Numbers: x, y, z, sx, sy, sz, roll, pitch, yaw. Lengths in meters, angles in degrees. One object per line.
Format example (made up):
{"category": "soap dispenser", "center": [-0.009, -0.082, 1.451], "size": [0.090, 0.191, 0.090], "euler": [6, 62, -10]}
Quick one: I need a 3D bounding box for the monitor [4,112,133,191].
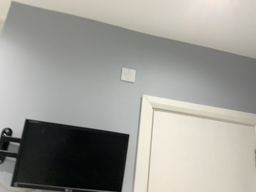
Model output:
{"category": "monitor", "center": [-0.260, 0.300, 1.030], "size": [0.520, 0.300, 0.060], "euler": [18, -23, -10]}
